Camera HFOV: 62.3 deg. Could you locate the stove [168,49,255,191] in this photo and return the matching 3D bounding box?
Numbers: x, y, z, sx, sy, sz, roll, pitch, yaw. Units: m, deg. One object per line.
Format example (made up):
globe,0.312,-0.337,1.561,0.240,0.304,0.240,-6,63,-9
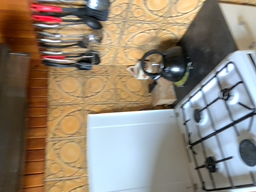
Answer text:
stove,0.430,0.180,0.990,0.630,0.150,0.490,117,149,-60
